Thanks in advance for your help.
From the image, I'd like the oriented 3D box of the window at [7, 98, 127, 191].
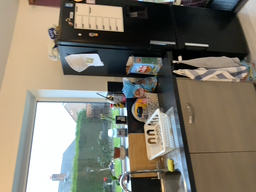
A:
[{"bbox_3d":[-0.540,0.840,2.000,0.120,1.050,1.670,118,151,-64],"label":"window"}]
